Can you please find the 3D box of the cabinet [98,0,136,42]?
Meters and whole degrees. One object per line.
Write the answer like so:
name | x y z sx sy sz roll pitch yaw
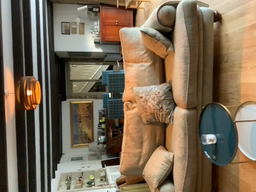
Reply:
cabinet | -0.340 -2.100 6.010 0.730 0.970 1.000 -145 54 -76

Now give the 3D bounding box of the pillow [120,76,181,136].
pillow | 0.270 0.110 2.570 0.510 0.490 0.200 48 177 -12

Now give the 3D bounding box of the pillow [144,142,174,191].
pillow | 0.350 0.840 2.520 0.500 0.180 0.410 -144 54 -75
